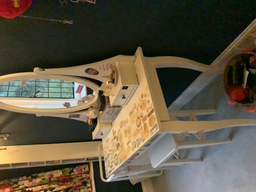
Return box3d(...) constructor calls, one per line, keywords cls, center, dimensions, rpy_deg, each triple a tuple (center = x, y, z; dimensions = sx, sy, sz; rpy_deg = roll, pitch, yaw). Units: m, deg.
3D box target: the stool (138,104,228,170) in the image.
box3d(cls="stool", center=(0.390, 0.320, 1.640), dimensions=(0.420, 0.450, 0.330), rpy_deg=(119, 144, -50))
